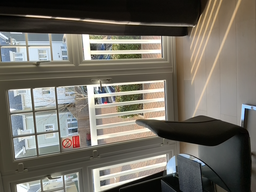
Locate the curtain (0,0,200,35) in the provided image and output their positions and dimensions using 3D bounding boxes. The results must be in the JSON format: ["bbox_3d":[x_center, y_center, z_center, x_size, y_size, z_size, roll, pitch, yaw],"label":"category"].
[{"bbox_3d":[-0.470,-0.770,1.840,0.230,2.480,0.400,-177,82,-69],"label":"curtain"}]

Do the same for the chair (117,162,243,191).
[{"bbox_3d":[0.470,0.920,1.900,0.460,1.000,0.380,156,107,-68],"label":"chair"}]

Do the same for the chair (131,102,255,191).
[{"bbox_3d":[0.580,0.390,1.460,0.440,1.010,0.540,-160,66,-68],"label":"chair"}]
